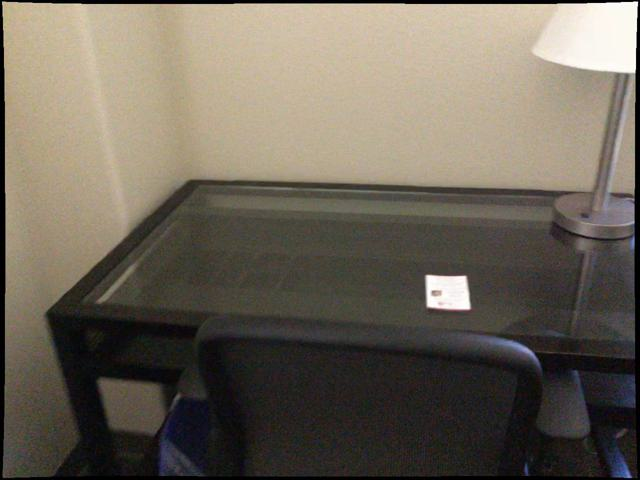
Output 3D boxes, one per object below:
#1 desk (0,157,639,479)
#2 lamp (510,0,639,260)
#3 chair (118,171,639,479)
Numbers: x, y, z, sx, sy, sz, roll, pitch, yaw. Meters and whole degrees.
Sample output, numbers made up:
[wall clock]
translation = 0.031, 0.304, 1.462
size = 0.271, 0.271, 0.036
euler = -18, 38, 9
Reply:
[desk]
translation = 0.150, 0.360, 1.430
size = 1.309, 0.811, 0.920
euler = 3, 29, 12
[lamp]
translation = 0.639, -0.310, 1.210
size = 0.410, 0.620, 0.330
euler = 1, 29, 14
[chair]
translation = 0.120, 0.450, 1.070
size = 0.569, 1.021, 0.490
euler = 3, 29, 12
